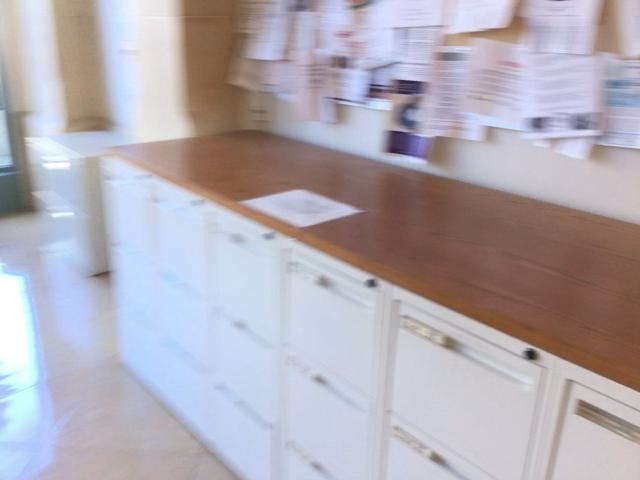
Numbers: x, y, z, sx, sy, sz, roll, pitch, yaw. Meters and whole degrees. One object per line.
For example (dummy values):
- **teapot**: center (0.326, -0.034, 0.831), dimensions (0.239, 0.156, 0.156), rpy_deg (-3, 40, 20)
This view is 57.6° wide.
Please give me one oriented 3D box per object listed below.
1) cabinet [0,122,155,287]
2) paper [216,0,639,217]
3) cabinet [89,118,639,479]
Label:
- **cabinet**: center (-1.480, -0.270, 3.550), dimensions (0.570, 0.750, 0.860), rpy_deg (-13, 25, -40)
- **paper**: center (0.400, -0.780, 1.670), dimensions (0.150, 1.120, 2.360), rpy_deg (-13, 25, -40)
- **cabinet**: center (0.140, 0.320, 1.830), dimensions (0.740, 1.030, 2.400), rpy_deg (-13, 25, -40)
